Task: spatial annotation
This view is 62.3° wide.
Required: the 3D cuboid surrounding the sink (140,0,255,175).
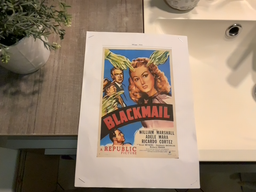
[{"bbox_3d":[0.340,-0.060,0.470,0.610,0.110,0.430,0,73,-2],"label":"sink"}]
